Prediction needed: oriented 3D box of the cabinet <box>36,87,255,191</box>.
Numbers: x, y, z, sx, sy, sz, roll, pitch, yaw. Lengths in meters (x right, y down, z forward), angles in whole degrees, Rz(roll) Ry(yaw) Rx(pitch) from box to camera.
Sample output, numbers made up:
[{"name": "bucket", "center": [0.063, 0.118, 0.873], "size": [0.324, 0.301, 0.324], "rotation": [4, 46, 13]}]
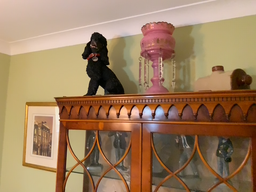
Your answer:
[{"name": "cabinet", "center": [0.090, 0.980, 0.930], "size": [1.010, 1.960, 0.410], "rotation": [-2, -7, 26]}]
